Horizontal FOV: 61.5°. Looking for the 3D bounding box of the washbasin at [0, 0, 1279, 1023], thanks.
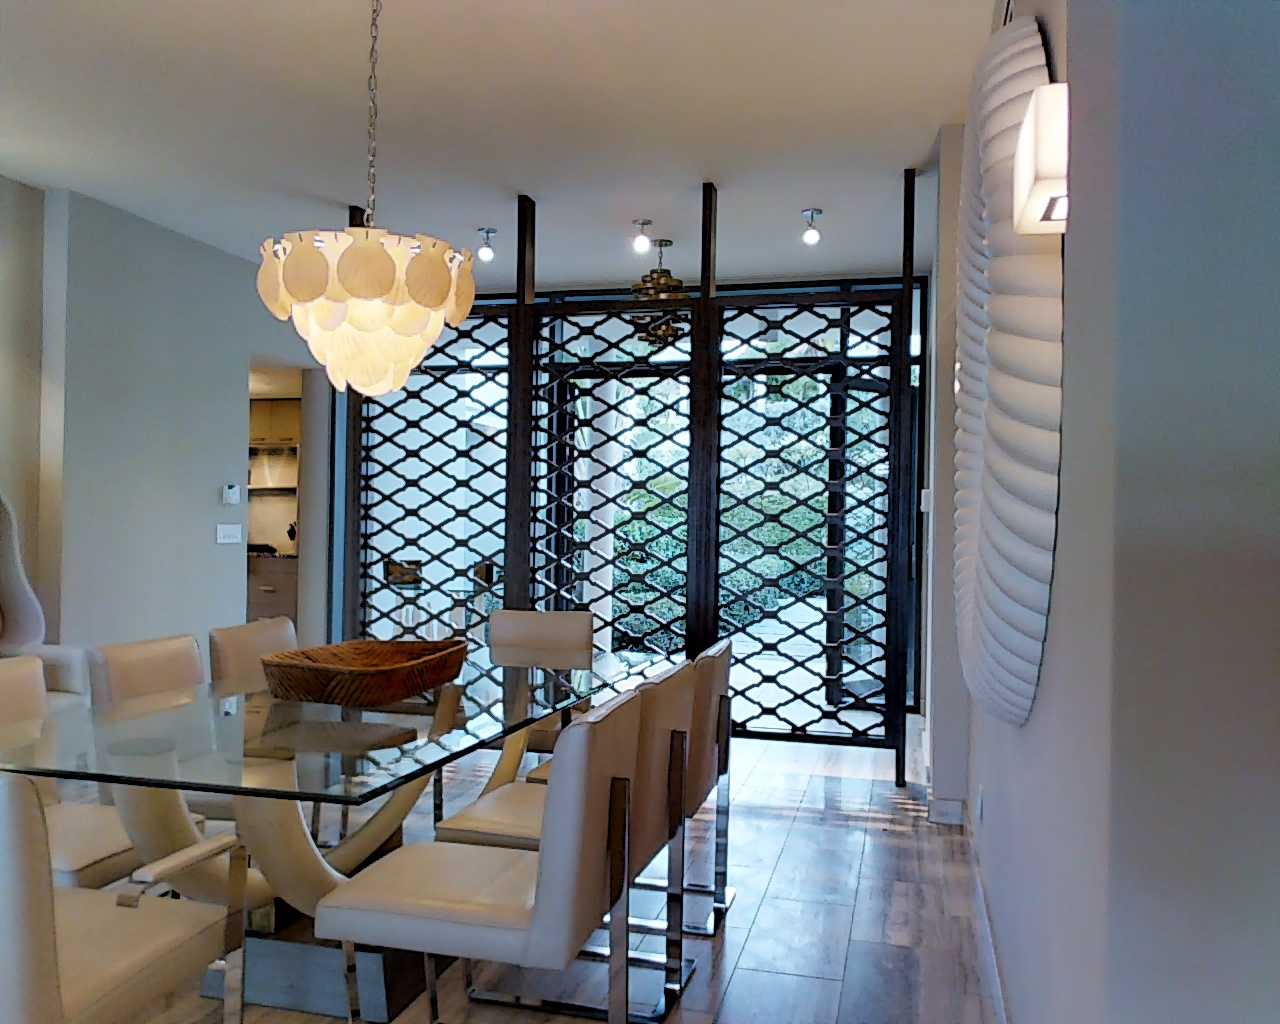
[{"bbox_3d":[-1.470,-0.330,2.710,10.909,3.310,22.050,1,0,15],"label":"washbasin"}]
